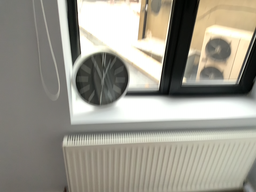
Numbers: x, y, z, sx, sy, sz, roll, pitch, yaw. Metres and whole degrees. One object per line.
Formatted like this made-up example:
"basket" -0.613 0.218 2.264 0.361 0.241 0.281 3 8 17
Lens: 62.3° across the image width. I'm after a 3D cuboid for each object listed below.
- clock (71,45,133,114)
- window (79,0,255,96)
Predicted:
"clock" -0.150 -0.100 1.260 0.320 0.350 0.120 -12 36 -23
"window" 0.310 -0.550 1.180 1.140 1.230 0.100 0 33 -5
